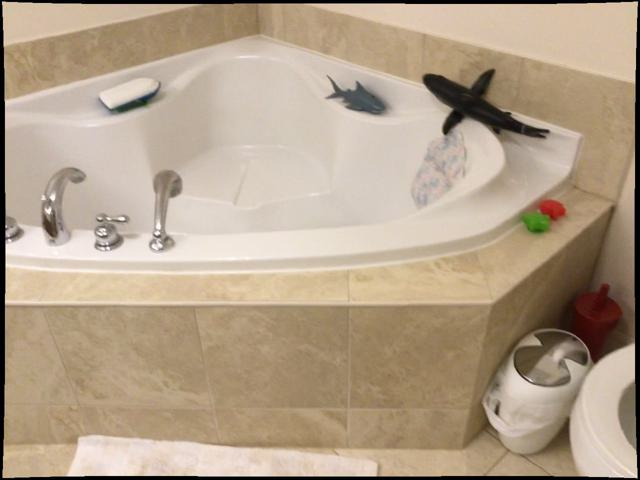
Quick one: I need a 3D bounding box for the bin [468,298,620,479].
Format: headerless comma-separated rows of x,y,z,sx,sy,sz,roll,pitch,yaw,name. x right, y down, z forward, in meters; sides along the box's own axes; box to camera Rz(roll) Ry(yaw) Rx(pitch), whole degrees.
0.559,0.370,1.460,0.310,0.290,0.180,-29,45,-34,bin

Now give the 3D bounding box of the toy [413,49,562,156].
0.460,-0.400,1.640,0.140,0.170,0.370,-29,45,-34,toy
